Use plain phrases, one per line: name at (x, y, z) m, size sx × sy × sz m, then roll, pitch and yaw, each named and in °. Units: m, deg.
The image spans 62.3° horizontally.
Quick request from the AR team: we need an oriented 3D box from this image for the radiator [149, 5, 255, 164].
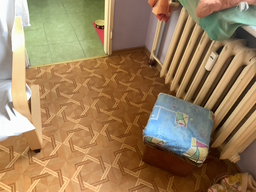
radiator at (0.490, -0.090, 1.340) m, size 0.260 × 0.620 × 0.760 m, roll -16°, pitch 51°, yaw -22°
